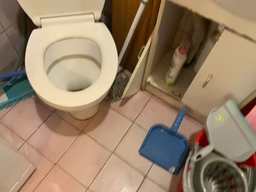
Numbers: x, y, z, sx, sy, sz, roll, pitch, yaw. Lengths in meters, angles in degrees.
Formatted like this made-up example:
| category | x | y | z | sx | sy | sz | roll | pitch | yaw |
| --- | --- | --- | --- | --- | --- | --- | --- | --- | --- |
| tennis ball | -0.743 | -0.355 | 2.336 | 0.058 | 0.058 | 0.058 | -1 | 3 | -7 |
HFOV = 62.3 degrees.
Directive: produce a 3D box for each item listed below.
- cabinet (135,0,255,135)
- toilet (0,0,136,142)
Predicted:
| category | x | y | z | sx | sy | sz | roll | pitch | yaw |
| --- | --- | --- | --- | --- | --- | --- | --- | --- | --- |
| cabinet | 0.360 | -0.200 | 0.980 | 0.490 | 0.720 | 0.320 | 32 | 63 | 13 |
| toilet | -0.250 | -0.270 | 0.910 | 0.380 | 0.810 | 0.670 | -6 | 61 | -8 |
